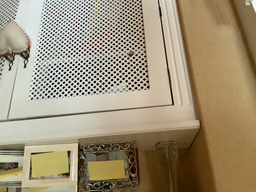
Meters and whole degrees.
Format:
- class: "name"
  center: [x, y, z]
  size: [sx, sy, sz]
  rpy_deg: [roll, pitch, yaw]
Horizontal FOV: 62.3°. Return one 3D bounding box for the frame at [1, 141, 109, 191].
- class: "frame"
  center: [-0.250, 0.310, 0.810]
  size: [0.290, 0.190, 0.270]
  rpy_deg: [-7, 155, 8]
